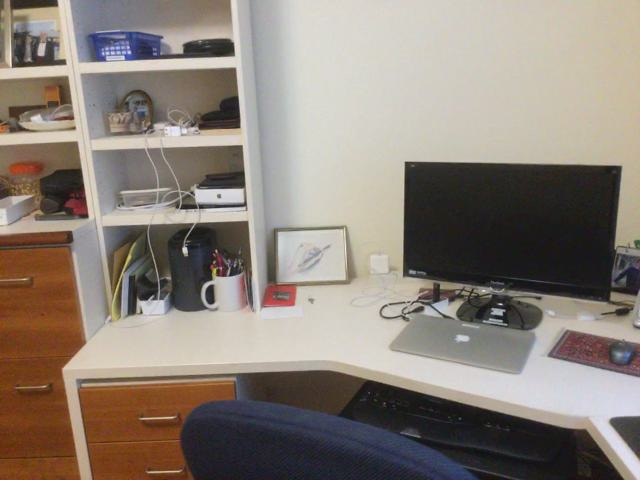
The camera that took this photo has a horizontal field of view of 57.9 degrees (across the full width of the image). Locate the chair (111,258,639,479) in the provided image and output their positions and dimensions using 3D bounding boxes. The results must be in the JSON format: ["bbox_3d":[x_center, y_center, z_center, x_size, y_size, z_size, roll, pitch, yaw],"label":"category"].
[{"bbox_3d":[0.170,0.640,1.110,0.690,0.990,0.680,7,17,30],"label":"chair"}]
